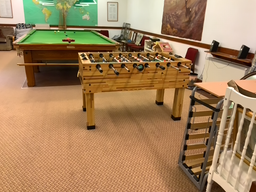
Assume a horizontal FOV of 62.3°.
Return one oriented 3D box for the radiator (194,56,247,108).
[{"bbox_3d":[1.640,-0.310,3.930,0.100,0.630,1.160,-3,22,-16],"label":"radiator"}]
